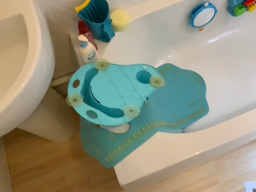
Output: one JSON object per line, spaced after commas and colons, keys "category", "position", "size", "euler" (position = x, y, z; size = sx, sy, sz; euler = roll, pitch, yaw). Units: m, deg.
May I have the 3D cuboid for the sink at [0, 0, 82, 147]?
{"category": "sink", "position": [-0.560, -0.050, 0.750], "size": [0.640, 0.200, 0.470], "euler": [-22, 67, -3]}

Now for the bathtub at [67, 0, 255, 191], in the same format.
{"category": "bathtub", "position": [0.650, -0.140, 1.150], "size": [1.650, 0.560, 0.840], "euler": [-22, 67, -3]}
